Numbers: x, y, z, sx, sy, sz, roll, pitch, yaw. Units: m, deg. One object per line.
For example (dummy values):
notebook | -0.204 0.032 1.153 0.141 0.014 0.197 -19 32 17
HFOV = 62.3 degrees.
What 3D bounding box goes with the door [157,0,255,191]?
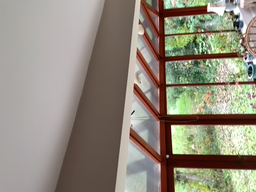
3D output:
door | 1.630 -0.480 3.890 0.130 2.110 6.960 75 -164 -58
